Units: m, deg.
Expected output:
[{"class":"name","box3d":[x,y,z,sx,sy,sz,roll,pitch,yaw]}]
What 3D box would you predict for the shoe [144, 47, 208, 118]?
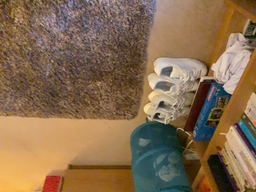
[{"class":"shoe","box3d":[0.260,-0.060,1.250,0.260,0.110,0.420,3,129,-6]}]
